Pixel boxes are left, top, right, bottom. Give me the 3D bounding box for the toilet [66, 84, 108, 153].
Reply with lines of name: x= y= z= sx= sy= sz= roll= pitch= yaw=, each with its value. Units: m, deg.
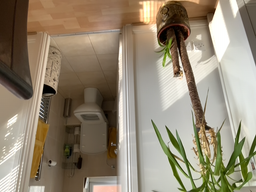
toilet: x=-0.540 y=0.340 z=3.020 sx=0.410 sy=0.810 sz=0.580 roll=-4 pitch=156 yaw=4
